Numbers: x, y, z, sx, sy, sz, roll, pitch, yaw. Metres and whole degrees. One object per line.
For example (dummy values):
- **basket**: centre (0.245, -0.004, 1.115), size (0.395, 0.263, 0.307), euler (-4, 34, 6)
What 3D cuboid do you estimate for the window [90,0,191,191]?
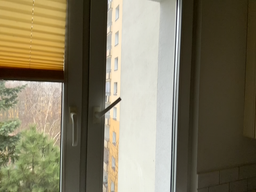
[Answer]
- **window**: centre (0.070, 0.070, 1.030), size (0.470, 1.360, 0.110), euler (1, 2, -29)
